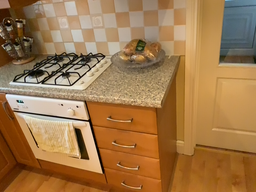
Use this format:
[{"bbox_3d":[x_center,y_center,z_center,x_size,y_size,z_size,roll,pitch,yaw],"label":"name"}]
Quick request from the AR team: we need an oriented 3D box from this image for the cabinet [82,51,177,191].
[{"bbox_3d":[0.100,0.220,1.530,0.400,0.910,0.620,4,33,20],"label":"cabinet"}]
